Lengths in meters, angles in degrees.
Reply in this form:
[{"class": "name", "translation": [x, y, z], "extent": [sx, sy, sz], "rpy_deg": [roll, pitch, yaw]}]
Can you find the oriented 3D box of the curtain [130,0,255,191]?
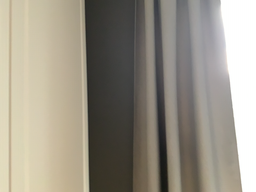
[{"class": "curtain", "translation": [0.380, 0.230, 1.280], "extent": [0.640, 2.530, 0.200], "rpy_deg": [-3, -4, 15]}]
